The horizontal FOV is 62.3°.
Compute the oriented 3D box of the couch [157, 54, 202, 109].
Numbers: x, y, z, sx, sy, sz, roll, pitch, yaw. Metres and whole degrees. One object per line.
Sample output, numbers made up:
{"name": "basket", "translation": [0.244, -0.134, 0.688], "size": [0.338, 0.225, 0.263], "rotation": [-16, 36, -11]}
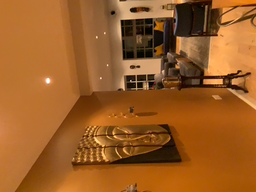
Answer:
{"name": "couch", "translation": [1.280, -0.410, 5.590], "size": [1.120, 0.910, 1.120], "rotation": [-88, -5, -68]}
